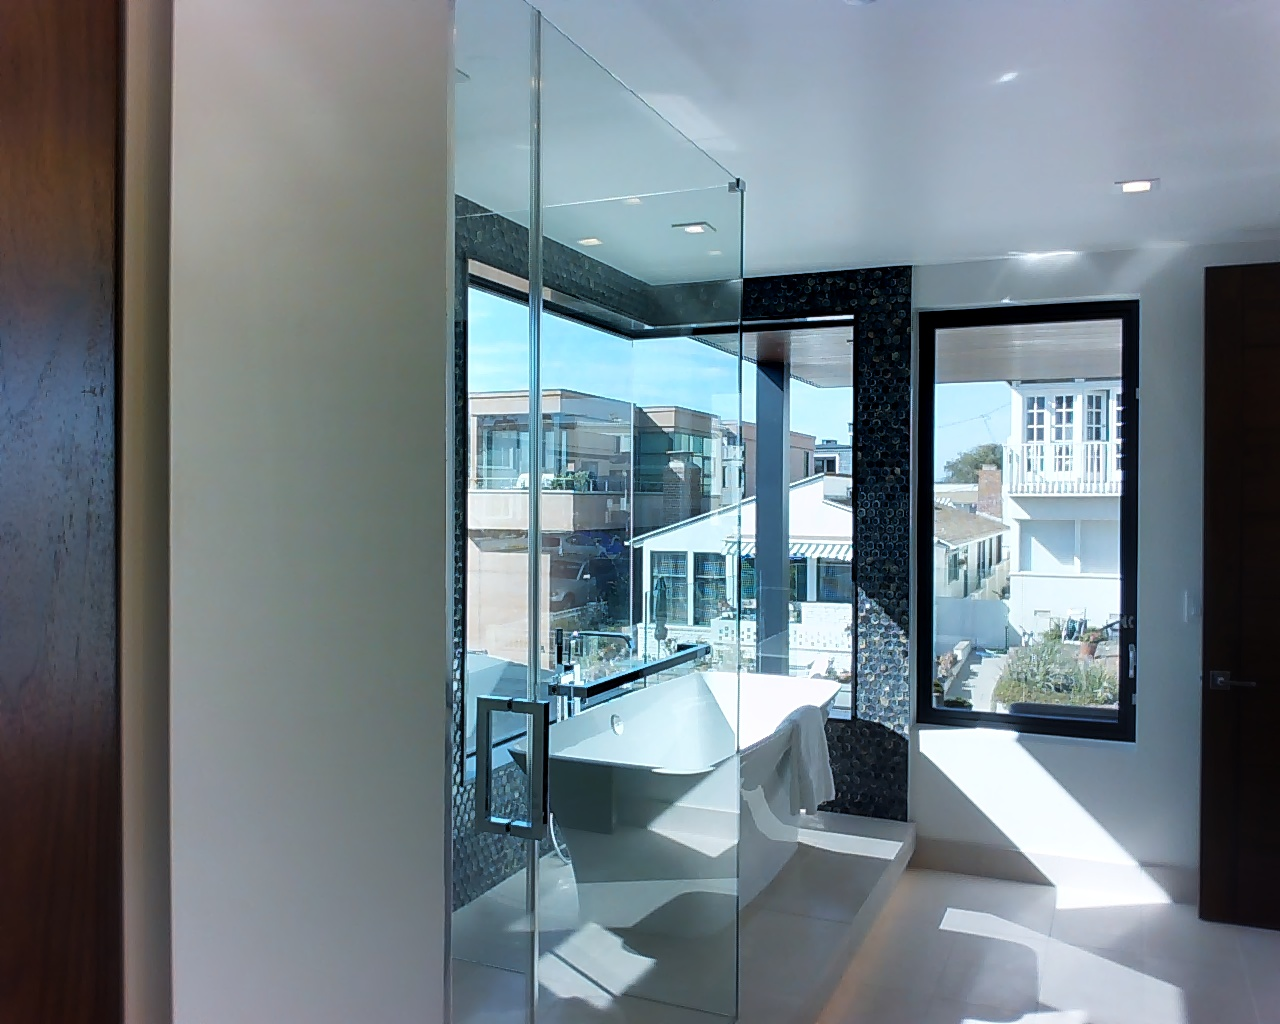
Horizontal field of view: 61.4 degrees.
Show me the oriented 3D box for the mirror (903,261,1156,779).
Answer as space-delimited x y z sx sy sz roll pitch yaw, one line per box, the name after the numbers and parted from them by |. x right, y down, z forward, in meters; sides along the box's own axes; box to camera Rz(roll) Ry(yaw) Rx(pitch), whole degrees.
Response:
1.600 0.030 4.470 0.950 2.000 0.260 0 1 23 | mirror
